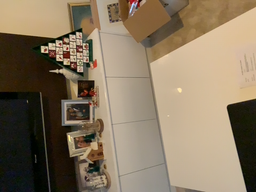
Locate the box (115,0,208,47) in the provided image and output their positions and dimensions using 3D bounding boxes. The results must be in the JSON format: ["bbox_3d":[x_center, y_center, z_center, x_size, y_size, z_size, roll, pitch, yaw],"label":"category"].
[{"bbox_3d":[0.220,-0.860,1.780,0.660,0.350,0.640,-21,75,55],"label":"box"}]
